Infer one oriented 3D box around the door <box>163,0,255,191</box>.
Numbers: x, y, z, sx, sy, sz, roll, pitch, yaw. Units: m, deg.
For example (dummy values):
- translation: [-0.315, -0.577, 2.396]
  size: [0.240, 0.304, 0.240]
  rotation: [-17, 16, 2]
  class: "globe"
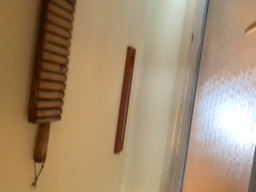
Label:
- translation: [0.390, -0.310, 0.880]
  size: [0.100, 2.050, 0.900]
  rotation: [8, -177, 2]
  class: "door"
